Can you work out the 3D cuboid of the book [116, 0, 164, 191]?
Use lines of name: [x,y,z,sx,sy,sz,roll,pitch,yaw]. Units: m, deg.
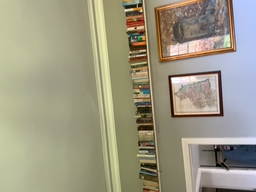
book: [0.100,-0.410,2.470,0.160,0.280,3.940,-17,-79,-68]
